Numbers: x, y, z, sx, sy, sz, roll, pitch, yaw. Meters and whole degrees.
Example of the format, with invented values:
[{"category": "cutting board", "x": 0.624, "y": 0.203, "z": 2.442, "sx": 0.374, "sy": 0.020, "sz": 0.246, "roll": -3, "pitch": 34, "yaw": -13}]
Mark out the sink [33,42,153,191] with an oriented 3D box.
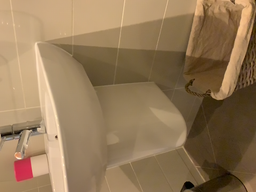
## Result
[{"category": "sink", "x": -0.160, "y": 0.180, "z": 0.650, "sx": 0.450, "sy": 0.150, "sz": 0.540, "roll": 53, "pitch": 143, "yaw": 45}]
